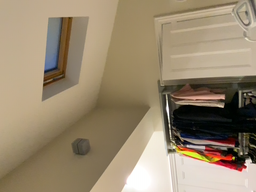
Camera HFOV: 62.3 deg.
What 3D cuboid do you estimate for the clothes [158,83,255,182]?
[{"bbox_3d":[1.450,0.470,2.900,0.560,1.870,1.170,-40,-55,-61],"label":"clothes"}]
